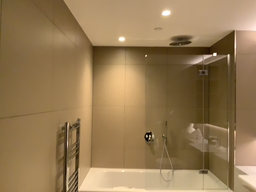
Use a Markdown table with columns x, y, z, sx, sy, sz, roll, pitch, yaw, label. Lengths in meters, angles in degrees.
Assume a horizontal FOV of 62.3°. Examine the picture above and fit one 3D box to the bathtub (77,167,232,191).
| x | y | z | sx | sy | sz | roll | pitch | yaw | label |
| --- | --- | --- | --- | --- | --- | --- | --- | --- | --- |
| 0.280 | 1.310 | 2.630 | 1.650 | 0.610 | 0.740 | 0 | 0 | 0 | bathtub |
